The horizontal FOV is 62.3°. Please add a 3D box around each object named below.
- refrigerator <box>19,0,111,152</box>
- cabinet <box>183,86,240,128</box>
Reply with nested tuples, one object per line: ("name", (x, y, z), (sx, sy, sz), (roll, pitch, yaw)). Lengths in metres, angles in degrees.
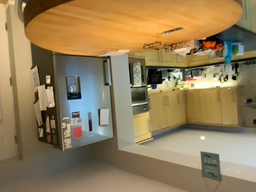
("refrigerator", (-0.790, -0.360, 2.650), (0.700, 1.840, 0.740), (-6, -177, -44))
("cabinet", (1.760, 0.220, 4.570), (0.280, 0.800, 1.100), (-6, -177, -44))
